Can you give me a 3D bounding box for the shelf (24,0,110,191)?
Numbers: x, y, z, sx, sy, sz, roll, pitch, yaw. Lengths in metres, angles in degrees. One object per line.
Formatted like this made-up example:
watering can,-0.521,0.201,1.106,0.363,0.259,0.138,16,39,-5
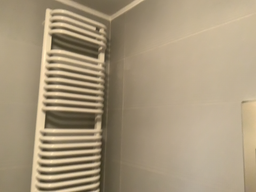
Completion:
shelf,-0.330,0.190,1.220,0.420,1.360,0.120,8,-9,-44
